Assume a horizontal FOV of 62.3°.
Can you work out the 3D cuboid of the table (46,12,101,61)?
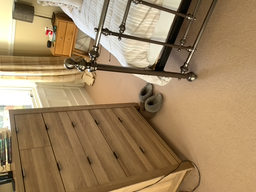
[{"bbox_3d":[-0.770,-0.820,2.970,0.370,0.590,0.470,48,127,45],"label":"table"}]
